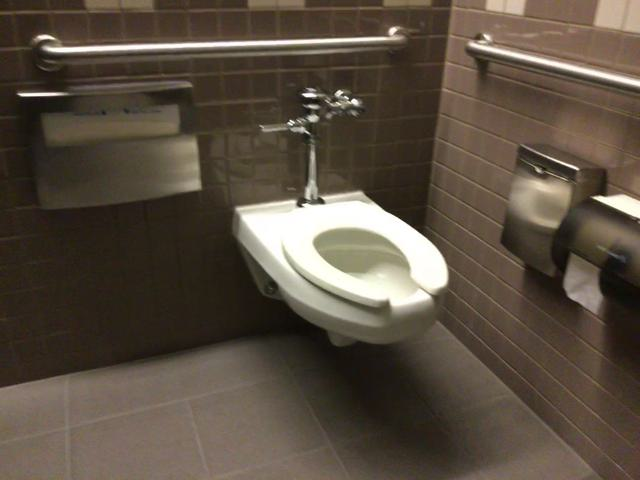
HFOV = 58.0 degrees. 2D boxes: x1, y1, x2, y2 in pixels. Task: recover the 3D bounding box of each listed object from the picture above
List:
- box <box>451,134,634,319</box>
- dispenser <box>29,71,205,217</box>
[{"bbox_3d":[0.500,-0.050,1.370,0.170,0.330,0.330,-5,24,-21],"label":"box"},{"bbox_3d":[-0.490,-0.240,1.450,0.390,0.340,0.060,-5,24,-21],"label":"dispenser"}]
